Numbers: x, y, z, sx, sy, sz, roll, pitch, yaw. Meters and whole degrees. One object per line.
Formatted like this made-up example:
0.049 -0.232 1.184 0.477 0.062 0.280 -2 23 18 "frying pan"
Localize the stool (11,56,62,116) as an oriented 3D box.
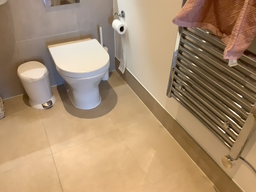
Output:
-0.700 -0.080 1.630 0.260 0.320 0.250 -17 43 -20 "stool"
